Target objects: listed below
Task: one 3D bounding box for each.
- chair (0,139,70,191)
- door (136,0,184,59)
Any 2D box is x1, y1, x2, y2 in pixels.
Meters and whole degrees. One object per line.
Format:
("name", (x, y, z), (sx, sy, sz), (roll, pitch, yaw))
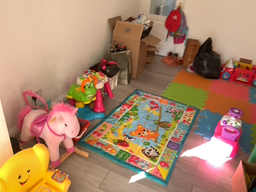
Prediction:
("chair", (-0.650, 0.610, 1.310), (0.340, 0.400, 0.460), (18, 32, 19))
("door", (0.640, -1.720, 3.990), (0.760, 1.950, 0.070), (16, 32, 16))
